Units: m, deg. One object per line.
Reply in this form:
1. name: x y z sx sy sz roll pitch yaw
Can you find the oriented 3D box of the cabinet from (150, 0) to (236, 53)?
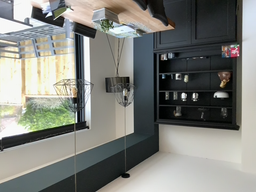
1. cabinet: 1.090 -1.330 3.640 1.320 0.990 0.540 1 -177 30
